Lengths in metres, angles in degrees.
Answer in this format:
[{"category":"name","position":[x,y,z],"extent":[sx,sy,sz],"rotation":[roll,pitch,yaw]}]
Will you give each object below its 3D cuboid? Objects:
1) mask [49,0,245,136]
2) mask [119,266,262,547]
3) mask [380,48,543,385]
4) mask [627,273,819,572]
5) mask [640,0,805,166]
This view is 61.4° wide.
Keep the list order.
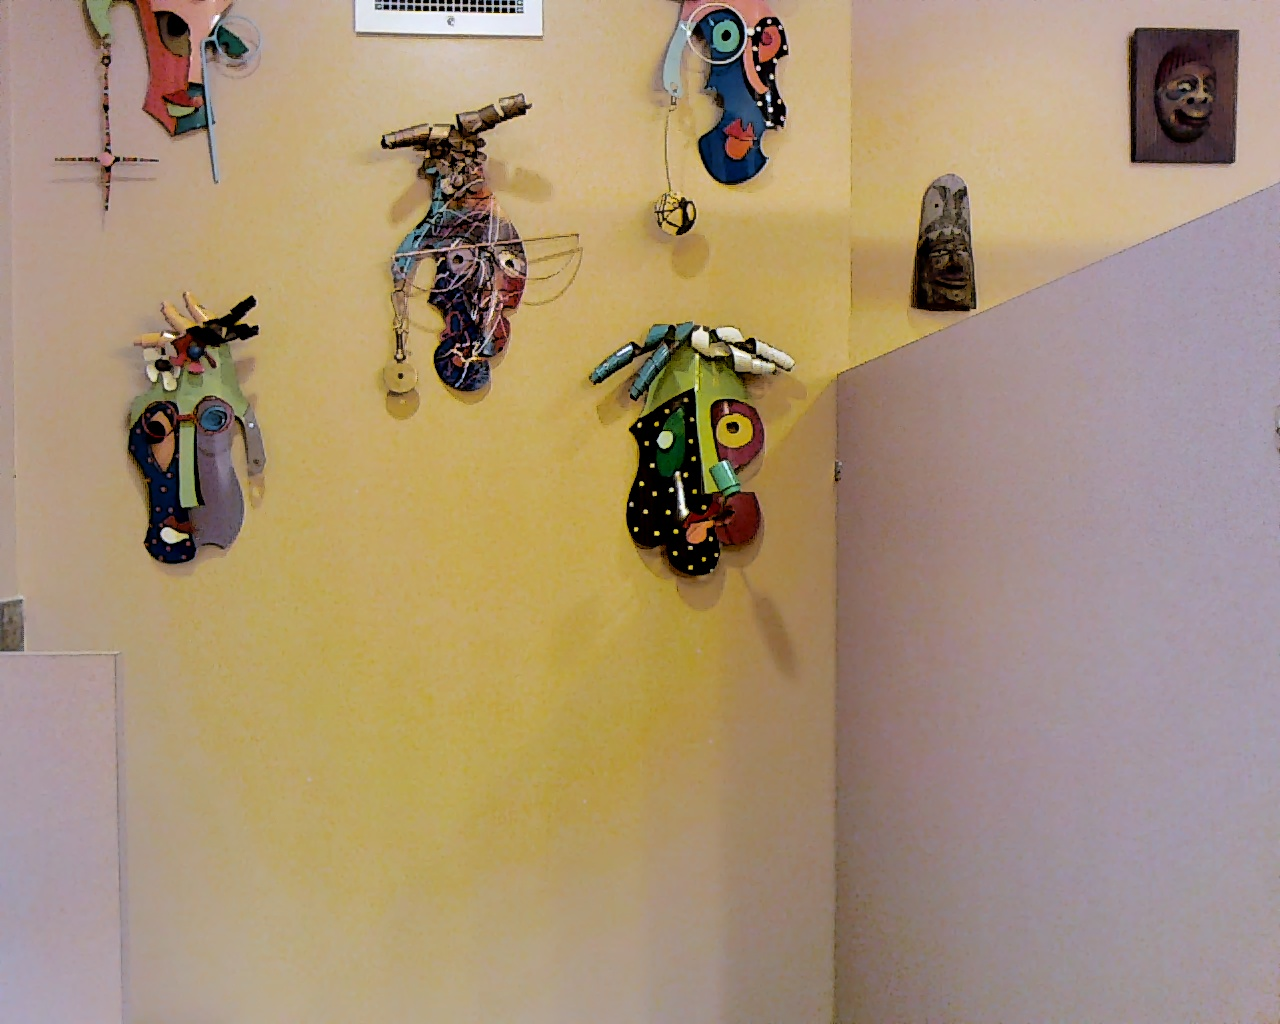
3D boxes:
[{"category":"mask","position":[-0.870,-0.880,1.910],"extent":[0.310,0.390,0.070],"rotation":[0,0,-5]},{"category":"mask","position":[-0.790,-0.180,1.900],"extent":[0.210,0.480,0.100],"rotation":[0,0,-5]},{"category":"mask","position":[-0.310,-0.510,1.910],"extent":[0.270,0.550,0.150],"rotation":[0,0,-5]},{"category":"mask","position":[0.140,-0.150,1.920],"extent":[0.310,0.500,0.200],"rotation":[0,0,-5]},{"category":"mask","position":[0.150,-0.920,1.970],"extent":[0.290,0.540,0.080],"rotation":[0,0,-5]}]
